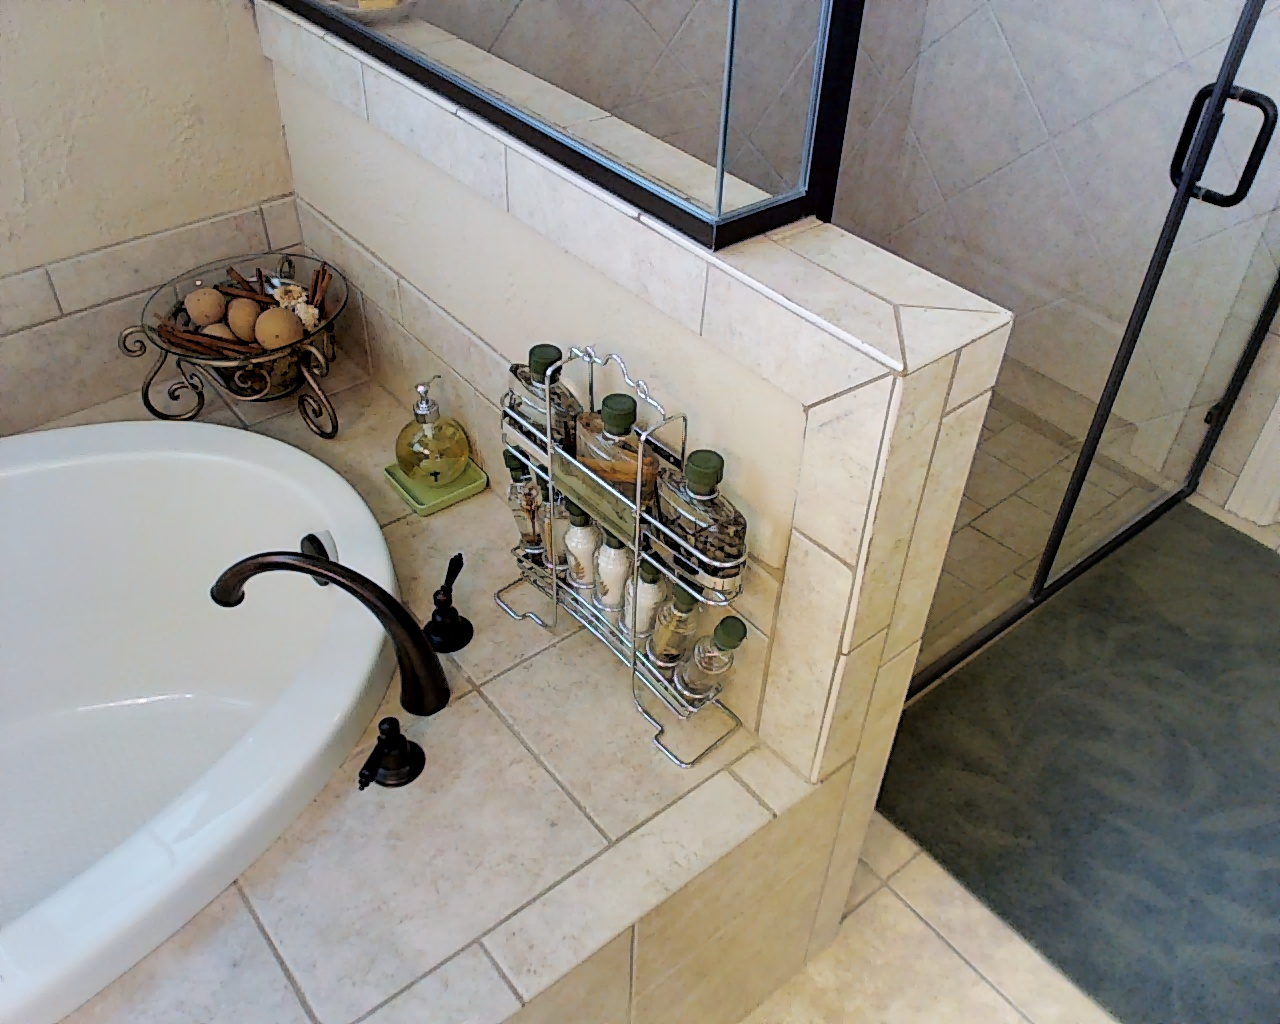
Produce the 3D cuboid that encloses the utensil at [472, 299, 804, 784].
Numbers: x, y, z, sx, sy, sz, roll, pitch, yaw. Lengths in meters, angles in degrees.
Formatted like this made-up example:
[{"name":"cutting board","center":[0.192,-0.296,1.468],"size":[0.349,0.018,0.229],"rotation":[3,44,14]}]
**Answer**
[{"name":"utensil","center":[-0.020,0.030,1.260],"size":[0.100,0.400,0.440],"rotation":[-27,48,-28]}]
